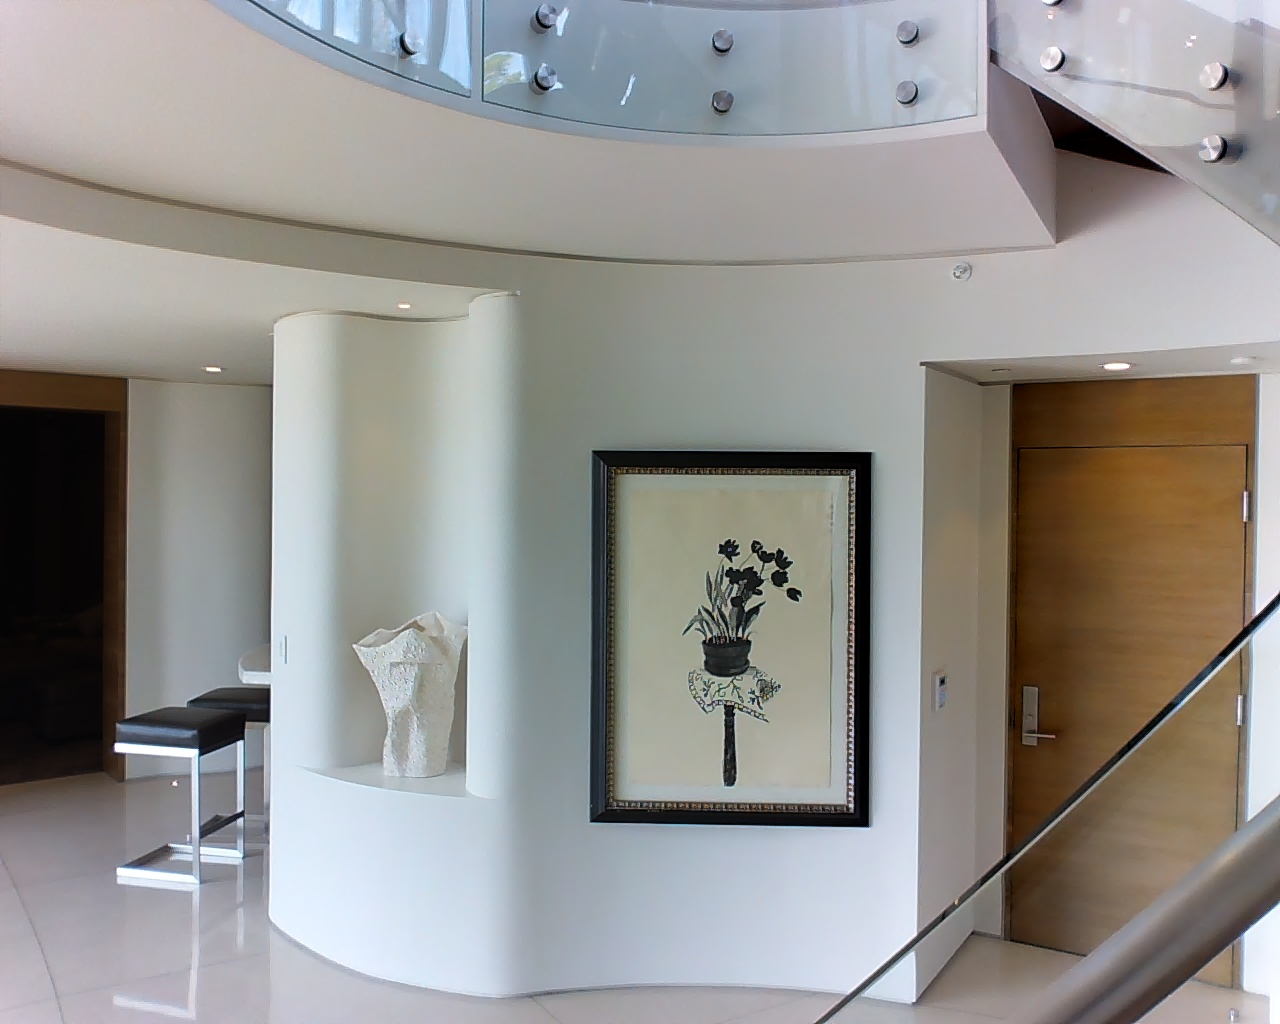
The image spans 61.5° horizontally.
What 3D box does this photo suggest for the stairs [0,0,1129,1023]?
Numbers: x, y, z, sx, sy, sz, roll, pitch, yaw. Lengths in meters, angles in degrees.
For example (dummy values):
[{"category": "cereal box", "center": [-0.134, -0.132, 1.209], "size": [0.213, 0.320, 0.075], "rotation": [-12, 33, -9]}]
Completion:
[{"category": "stairs", "center": [-1.450, 0.430, 3.880], "size": [4.700, 3.300, 4.470], "rotation": [2, 1, 41]}]
